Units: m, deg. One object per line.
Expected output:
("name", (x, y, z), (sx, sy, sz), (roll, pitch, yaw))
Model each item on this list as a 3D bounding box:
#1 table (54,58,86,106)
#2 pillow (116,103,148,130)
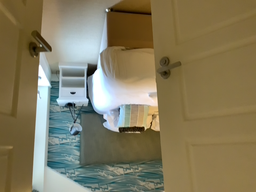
("table", (-0.900, -0.200, 3.370), (0.440, 0.610, 0.540), (0, 167, -13))
("pillow", (0.050, 0.280, 2.960), (0.400, 0.350, 0.130), (0, -166, -16))
